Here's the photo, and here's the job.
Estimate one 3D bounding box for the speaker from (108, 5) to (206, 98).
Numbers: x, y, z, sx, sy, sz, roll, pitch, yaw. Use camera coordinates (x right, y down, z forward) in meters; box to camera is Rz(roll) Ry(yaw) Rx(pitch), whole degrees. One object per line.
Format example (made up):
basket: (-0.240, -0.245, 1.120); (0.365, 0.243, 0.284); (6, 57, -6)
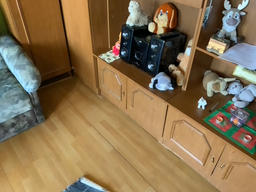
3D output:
speaker: (0.190, -0.410, 1.790); (0.340, 0.470, 0.720); (-27, 47, -31)
